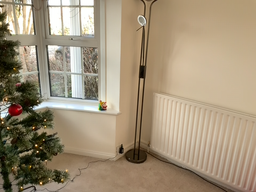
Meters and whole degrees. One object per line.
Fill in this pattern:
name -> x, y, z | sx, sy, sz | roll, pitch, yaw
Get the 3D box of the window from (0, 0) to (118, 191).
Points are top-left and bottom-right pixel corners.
window -> -1.240, -0.100, 1.890 | 0.800, 2.010, 2.440 | 17, 23, 38

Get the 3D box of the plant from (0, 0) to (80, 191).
plant -> -1.110, 0.110, 1.550 | 1.020, 1.810, 1.080 | -15, 24, -43
